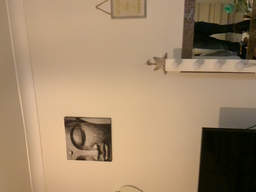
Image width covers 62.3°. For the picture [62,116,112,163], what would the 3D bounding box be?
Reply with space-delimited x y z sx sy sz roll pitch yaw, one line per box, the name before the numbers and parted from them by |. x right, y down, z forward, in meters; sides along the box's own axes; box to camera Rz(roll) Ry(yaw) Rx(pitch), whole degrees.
picture | -0.330 0.360 1.740 0.030 0.390 0.390 -66 -24 -74
